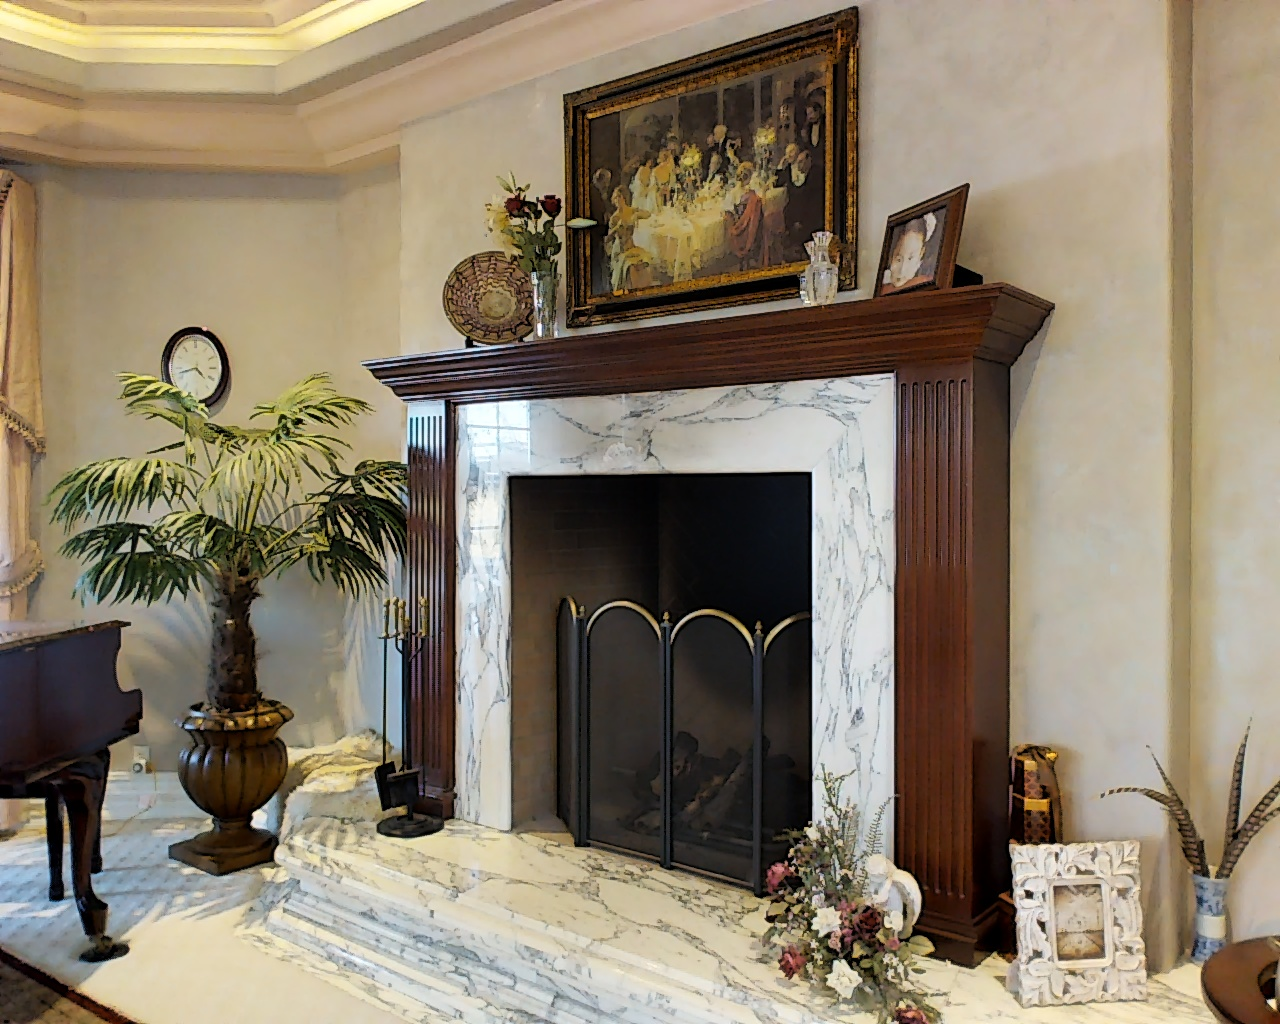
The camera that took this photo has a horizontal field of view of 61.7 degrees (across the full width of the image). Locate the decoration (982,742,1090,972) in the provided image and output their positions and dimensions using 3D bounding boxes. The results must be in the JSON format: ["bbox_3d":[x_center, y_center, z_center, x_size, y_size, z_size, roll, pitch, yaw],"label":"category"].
[{"bbox_3d":[0.980,0.840,2.650,0.200,0.480,0.190,1,1,37],"label":"decoration"}]

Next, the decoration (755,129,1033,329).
[{"bbox_3d":[0.660,-0.720,2.840,0.660,0.370,0.280,1,1,39],"label":"decoration"}]

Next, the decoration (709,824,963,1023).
[{"bbox_3d":[0.460,0.960,2.510,0.450,0.280,0.390,1,1,39],"label":"decoration"}]

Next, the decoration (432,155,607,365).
[{"bbox_3d":[-0.420,-0.840,3.690,0.540,0.590,0.310,1,1,41],"label":"decoration"}]

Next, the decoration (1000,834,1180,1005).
[{"bbox_3d":[1.030,0.930,2.460,0.370,0.330,0.120,0,0,-9],"label":"decoration"}]
